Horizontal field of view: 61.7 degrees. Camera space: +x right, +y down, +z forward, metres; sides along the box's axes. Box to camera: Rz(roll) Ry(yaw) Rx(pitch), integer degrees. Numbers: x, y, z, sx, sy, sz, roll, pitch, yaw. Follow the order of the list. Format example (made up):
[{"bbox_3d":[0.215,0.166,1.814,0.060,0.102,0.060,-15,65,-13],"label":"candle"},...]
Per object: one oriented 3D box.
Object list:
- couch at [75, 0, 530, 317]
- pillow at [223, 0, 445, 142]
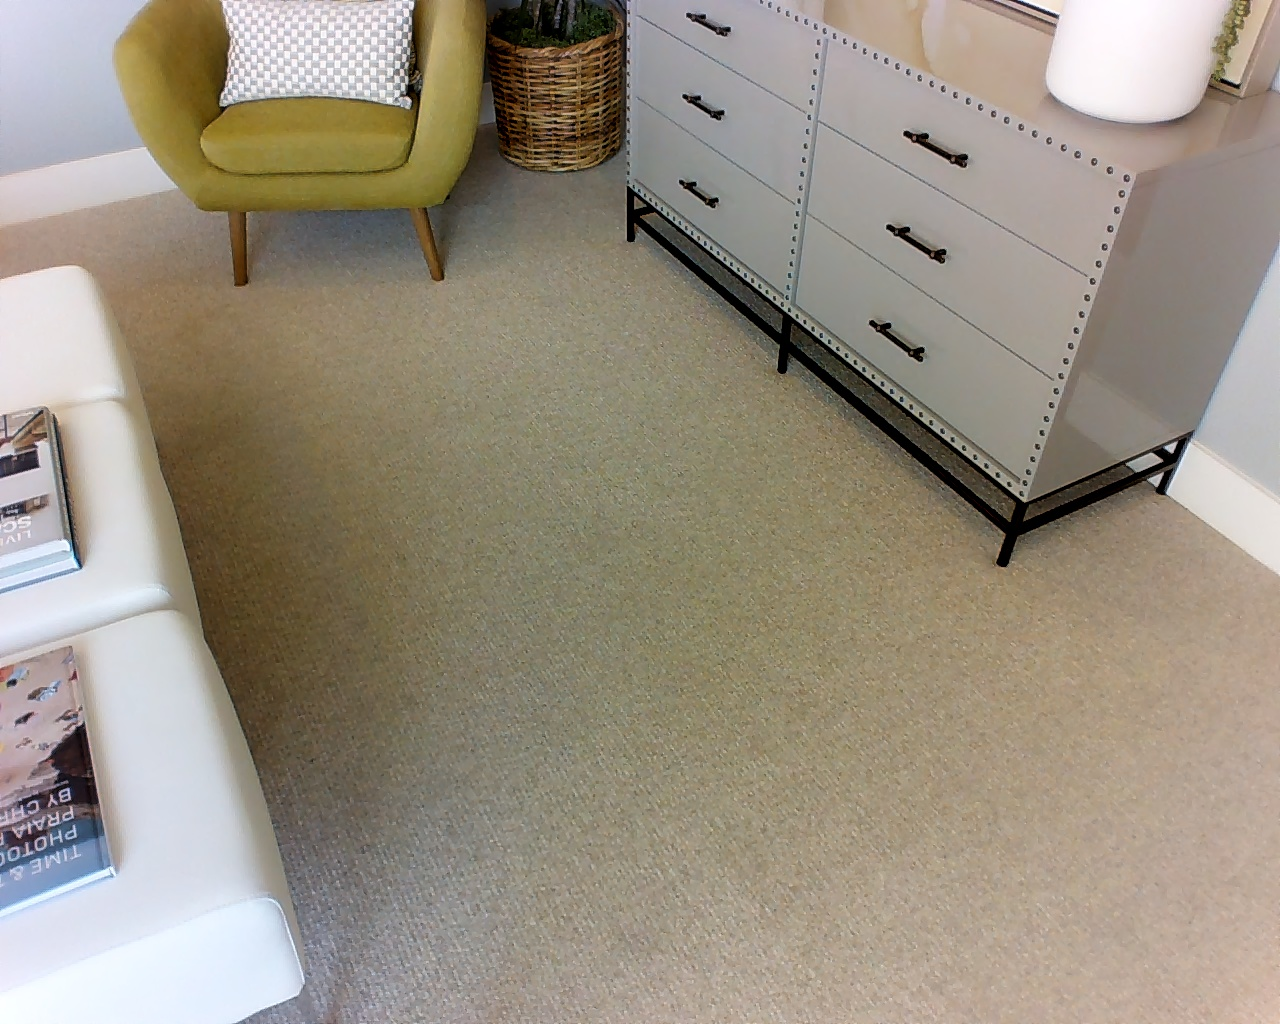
[{"bbox_3d":[-0.790,-1.080,2.860,0.930,0.840,0.690,-2,42,-3],"label":"couch"},{"bbox_3d":[-0.780,-1.160,2.740,0.500,0.280,0.180,9,77,-17],"label":"pillow"}]
